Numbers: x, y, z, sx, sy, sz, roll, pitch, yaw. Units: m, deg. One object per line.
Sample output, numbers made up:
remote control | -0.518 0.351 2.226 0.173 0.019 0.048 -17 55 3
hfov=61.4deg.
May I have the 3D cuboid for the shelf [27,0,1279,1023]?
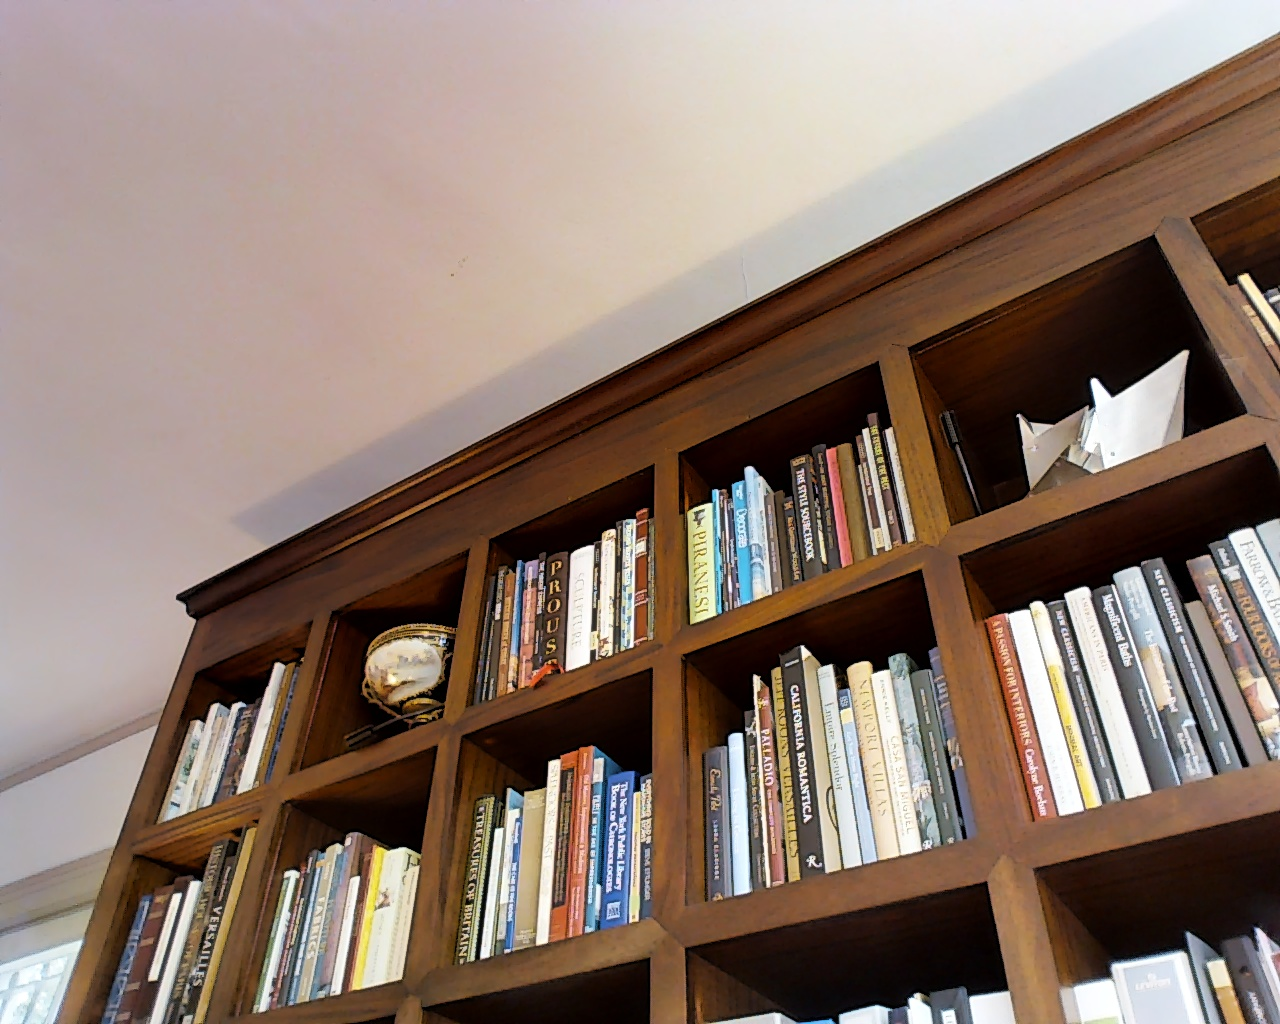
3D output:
shelf | 0.180 0.950 1.250 2.830 3.190 0.550 -24 -47 25
